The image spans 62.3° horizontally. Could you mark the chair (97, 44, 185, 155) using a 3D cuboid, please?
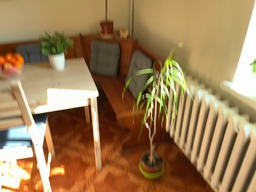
[{"bbox_3d":[0.060,-0.030,2.220,0.550,0.770,0.870,-9,31,-18],"label":"chair"}]

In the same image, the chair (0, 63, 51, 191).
[{"bbox_3d":[-0.840,0.260,1.560,0.380,0.860,0.460,-8,30,-15],"label":"chair"}]
